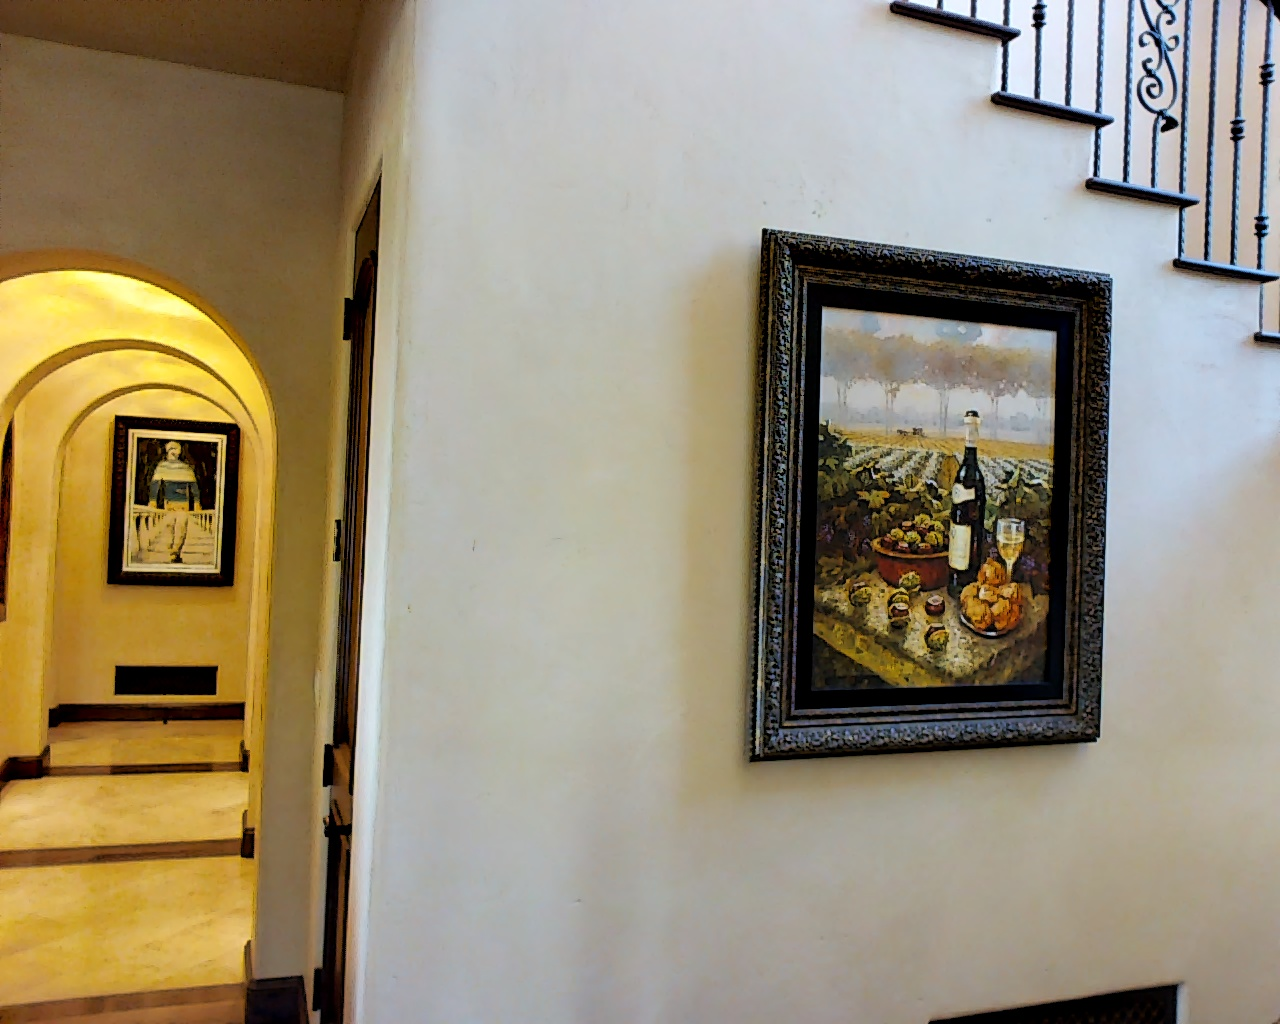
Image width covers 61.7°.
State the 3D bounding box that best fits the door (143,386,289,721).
[{"bbox_3d":[-3.250,0.330,8.230,0.910,2.520,0.120,3,-1,-13],"label":"door"}]
